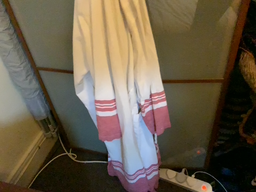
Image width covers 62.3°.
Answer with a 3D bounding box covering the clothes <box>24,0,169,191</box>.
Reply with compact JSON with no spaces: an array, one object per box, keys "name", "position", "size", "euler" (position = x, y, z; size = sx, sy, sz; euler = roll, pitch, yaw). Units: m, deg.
[{"name":"clothes","position":[-0.040,0.050,0.770],"size":[0.330,1.150,0.130],"euler":[6,42,13]}]
